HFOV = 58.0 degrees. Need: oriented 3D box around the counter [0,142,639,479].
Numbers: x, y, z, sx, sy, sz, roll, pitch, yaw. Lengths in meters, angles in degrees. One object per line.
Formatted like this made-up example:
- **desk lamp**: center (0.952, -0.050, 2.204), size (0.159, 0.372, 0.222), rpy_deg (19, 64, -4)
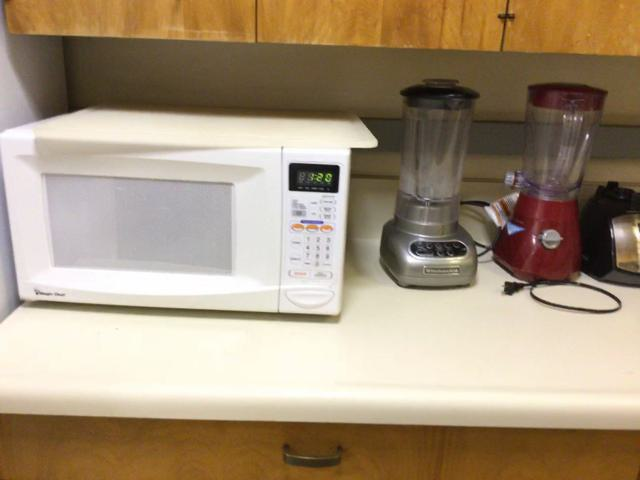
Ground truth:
- **counter**: center (0.840, 0.080, 1.060), size (2.720, 0.320, 0.690), rpy_deg (2, 19, -1)
